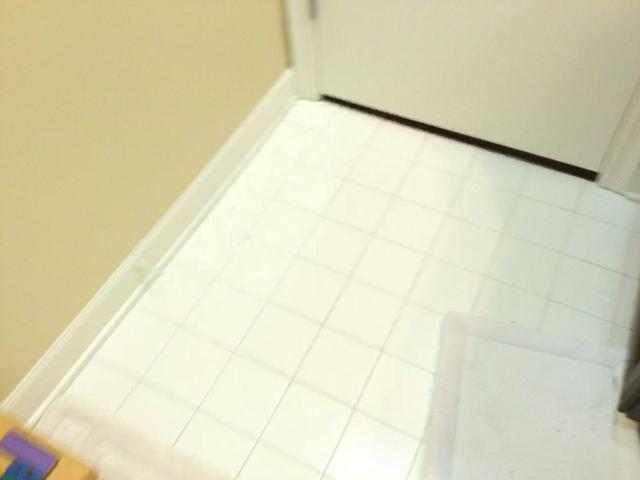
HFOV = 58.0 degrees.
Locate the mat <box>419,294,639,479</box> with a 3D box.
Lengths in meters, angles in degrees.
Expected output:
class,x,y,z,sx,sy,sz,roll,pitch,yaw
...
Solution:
class,x,y,z,sx,sy,sz,roll,pitch,yaw
mat,0.460,0.400,1.140,0.480,0.080,0.540,12,52,11
